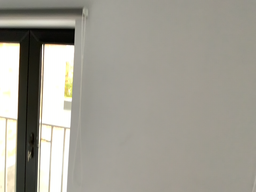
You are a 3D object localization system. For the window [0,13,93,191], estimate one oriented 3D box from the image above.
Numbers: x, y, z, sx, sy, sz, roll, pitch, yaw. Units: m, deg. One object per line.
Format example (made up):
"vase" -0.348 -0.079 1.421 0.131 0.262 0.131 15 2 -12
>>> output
"window" -0.830 0.390 1.890 0.940 2.170 0.090 6 6 14
